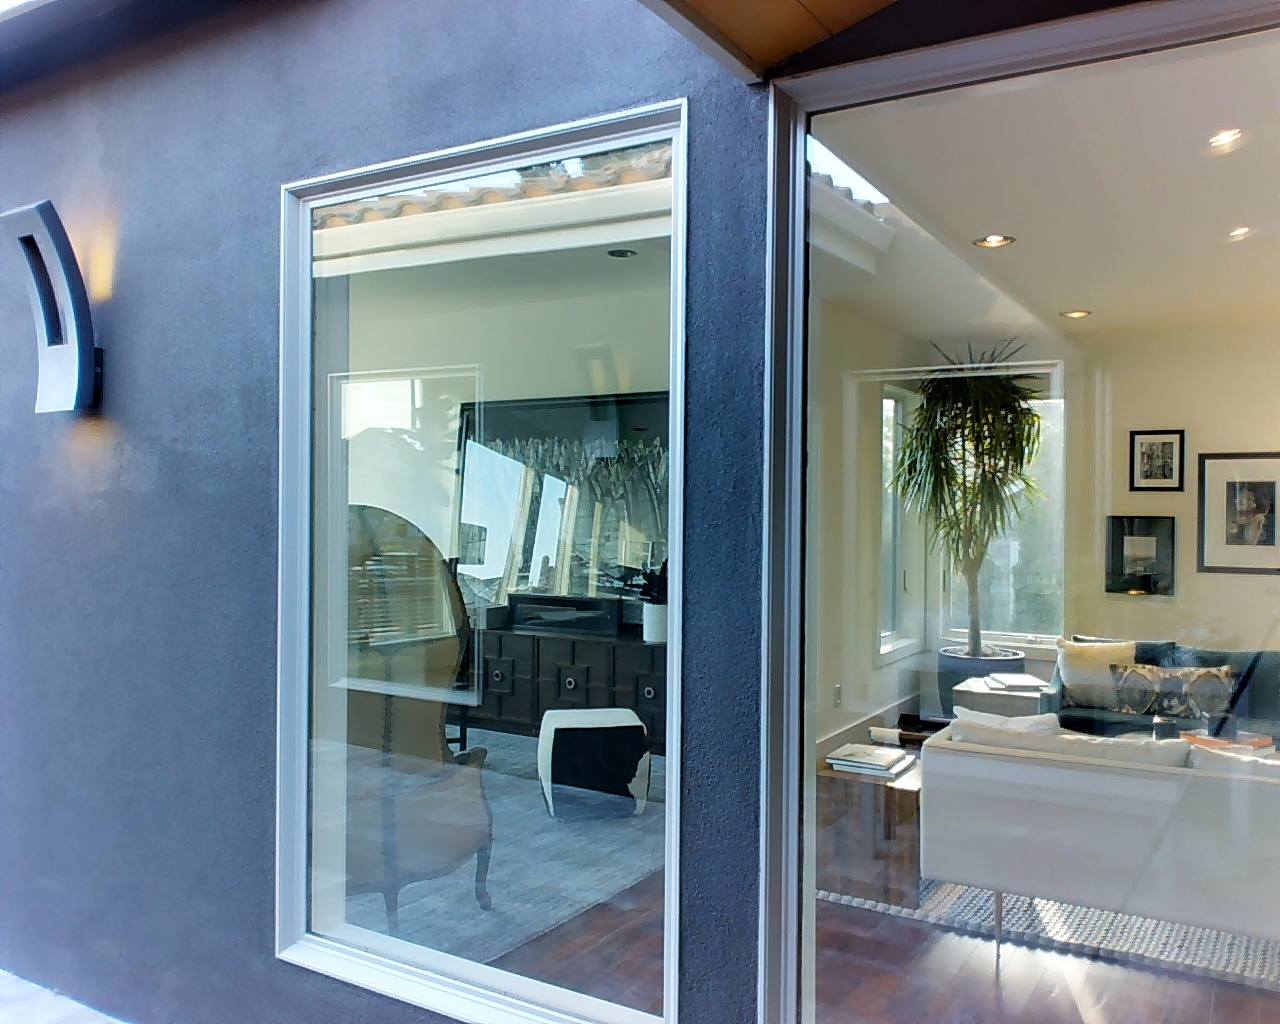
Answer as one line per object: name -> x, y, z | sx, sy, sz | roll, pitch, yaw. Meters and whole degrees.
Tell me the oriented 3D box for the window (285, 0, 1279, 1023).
window -> 0.380, 0.150, 2.160 | 2.970, 2.730, 0.190 | 1, 0, 32
